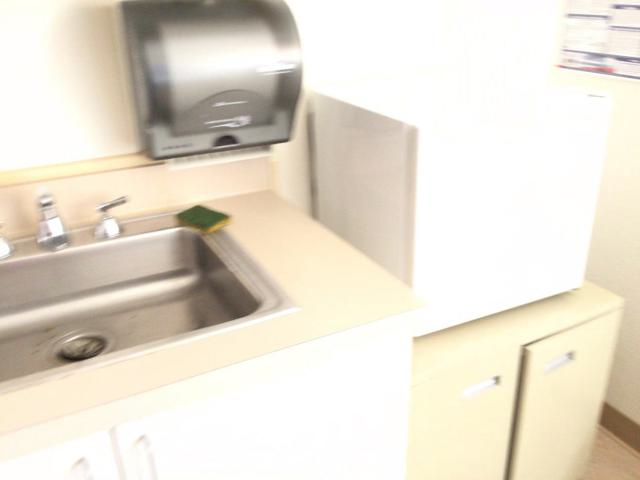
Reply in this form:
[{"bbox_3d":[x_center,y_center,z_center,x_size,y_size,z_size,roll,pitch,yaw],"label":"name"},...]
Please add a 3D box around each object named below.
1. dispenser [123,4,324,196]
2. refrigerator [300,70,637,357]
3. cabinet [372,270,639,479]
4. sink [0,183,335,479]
[{"bbox_3d":[-0.200,-0.300,1.190,0.330,0.330,0.240,-9,24,-26],"label":"dispenser"},{"bbox_3d":[0.300,-0.120,1.380,0.520,0.500,0.500,-9,24,-26],"label":"refrigerator"},{"bbox_3d":[0.450,0.440,1.380,0.670,0.640,0.130,-9,24,-26],"label":"cabinet"},{"bbox_3d":[-0.390,0.120,1.040,0.630,0.250,0.560,-9,24,-26],"label":"sink"}]
